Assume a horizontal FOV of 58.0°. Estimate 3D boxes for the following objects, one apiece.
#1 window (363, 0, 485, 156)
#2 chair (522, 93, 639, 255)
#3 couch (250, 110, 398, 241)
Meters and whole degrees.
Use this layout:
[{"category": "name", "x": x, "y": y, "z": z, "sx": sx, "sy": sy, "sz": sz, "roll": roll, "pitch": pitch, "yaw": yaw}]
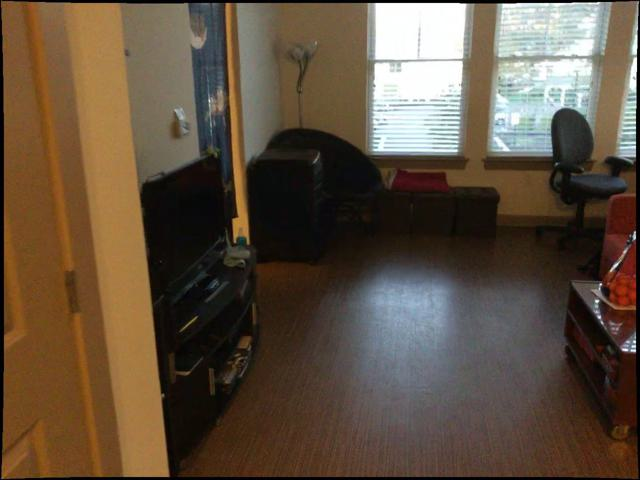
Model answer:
[{"category": "window", "x": 0.858, "y": -1.564, "z": 4.820, "sx": 0.908, "sy": 1.613, "sz": 0.430, "roll": 4, "pitch": 20, "yaw": 11}, {"category": "chair", "x": 2.105, "y": -0.531, "z": 4.380, "sx": 0.718, "sy": 1.062, "sz": 0.720, "roll": -3, "pitch": 20, "yaw": -8}, {"category": "couch", "x": 0.000, "y": -0.571, "z": 4.650, "sx": 0.818, "sy": 0.772, "sz": 0.980, "roll": -9, "pitch": 22, "yaw": -23}]
